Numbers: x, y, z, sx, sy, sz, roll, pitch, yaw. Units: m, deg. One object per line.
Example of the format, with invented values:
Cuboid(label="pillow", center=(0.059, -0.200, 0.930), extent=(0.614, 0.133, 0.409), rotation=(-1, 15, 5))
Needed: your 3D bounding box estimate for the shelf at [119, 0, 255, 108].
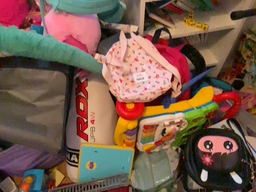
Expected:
Cuboid(label="shelf", center=(0.270, -0.340, 1.180), extent=(0.560, 0.730, 0.370), rotation=(-12, 55, -8))
